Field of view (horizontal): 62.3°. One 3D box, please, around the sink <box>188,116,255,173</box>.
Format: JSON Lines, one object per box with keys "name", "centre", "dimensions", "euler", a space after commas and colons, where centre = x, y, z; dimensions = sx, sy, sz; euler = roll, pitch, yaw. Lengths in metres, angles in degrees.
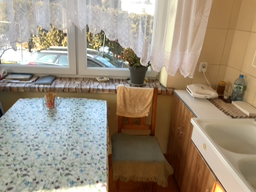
{"name": "sink", "centre": [0.700, 0.300, 1.380], "dimensions": [0.480, 0.160, 0.390], "euler": [3, 21, -6]}
